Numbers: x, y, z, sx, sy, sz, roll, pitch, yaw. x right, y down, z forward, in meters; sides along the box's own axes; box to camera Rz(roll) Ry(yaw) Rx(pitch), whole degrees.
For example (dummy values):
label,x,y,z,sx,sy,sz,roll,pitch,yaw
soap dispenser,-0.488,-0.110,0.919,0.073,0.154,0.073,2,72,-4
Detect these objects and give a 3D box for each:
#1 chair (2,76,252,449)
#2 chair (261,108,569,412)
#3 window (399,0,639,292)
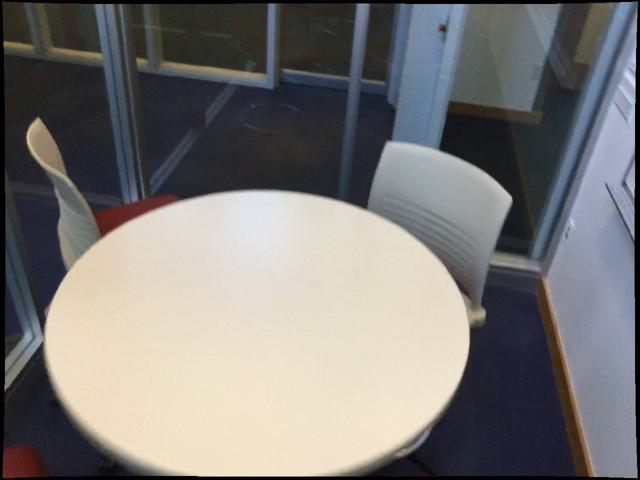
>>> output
label,x,y,z,sx,sy,sz,roll,pitch,yaw
chair,-0.609,0.080,1.990,0.500,1.021,0.610,-22,45,-30
chair,0.250,0.010,1.690,0.560,0.460,0.620,34,46,32
window,0.859,-0.561,2.590,0.749,1.661,0.400,8,38,4
